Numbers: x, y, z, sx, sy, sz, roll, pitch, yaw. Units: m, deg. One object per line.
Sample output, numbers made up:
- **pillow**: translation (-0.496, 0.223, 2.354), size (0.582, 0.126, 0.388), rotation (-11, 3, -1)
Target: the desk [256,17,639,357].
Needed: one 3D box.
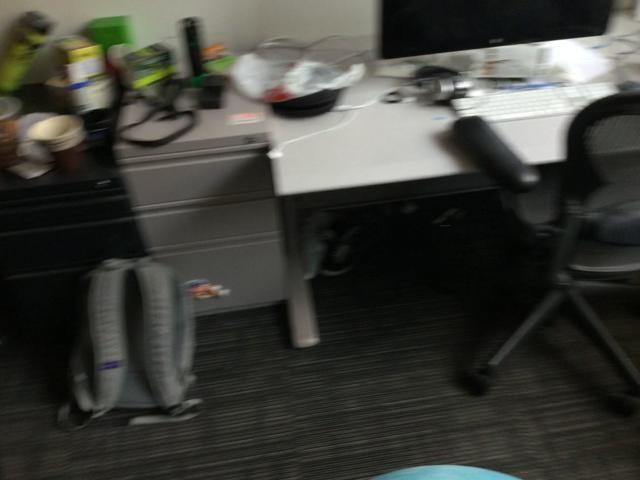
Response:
- **desk**: translation (0.650, -0.210, 1.830), size (1.650, 0.690, 0.750), rotation (-3, 42, -9)

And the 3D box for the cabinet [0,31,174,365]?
- **cabinet**: translation (-0.720, -0.130, 1.720), size (0.420, 0.730, 0.630), rotation (-5, 42, -7)

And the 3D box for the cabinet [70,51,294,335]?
- **cabinet**: translation (-0.350, -0.120, 1.700), size (0.490, 0.720, 0.360), rotation (-5, 42, -7)
